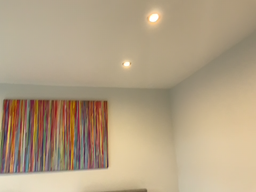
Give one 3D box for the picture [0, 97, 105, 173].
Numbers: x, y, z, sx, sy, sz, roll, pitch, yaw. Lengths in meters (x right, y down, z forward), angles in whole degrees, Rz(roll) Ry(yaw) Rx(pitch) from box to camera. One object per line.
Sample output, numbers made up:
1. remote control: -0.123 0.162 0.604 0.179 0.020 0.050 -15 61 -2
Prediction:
1. picture: -0.880 0.430 2.490 1.210 0.830 0.040 1 -15 -13
